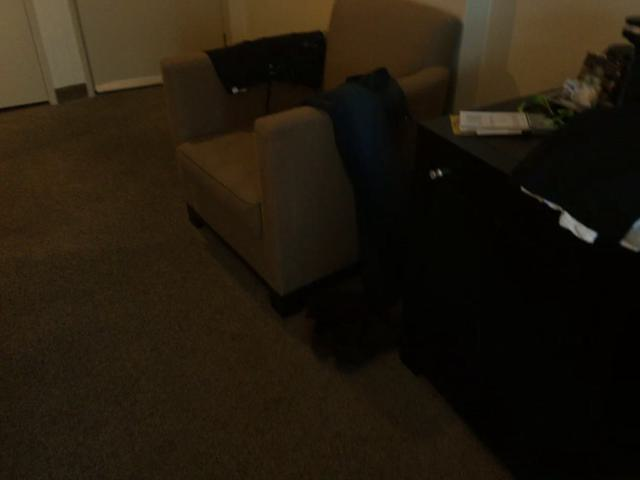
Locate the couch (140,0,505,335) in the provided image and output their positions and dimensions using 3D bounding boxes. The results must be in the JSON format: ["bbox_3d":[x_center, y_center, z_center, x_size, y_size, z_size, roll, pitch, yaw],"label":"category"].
[{"bbox_3d":[-0.040,-0.370,2.090,0.890,0.850,0.850,-15,36,-21],"label":"couch"}]

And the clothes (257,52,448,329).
[{"bbox_3d":[0.080,-0.170,1.870,0.390,0.710,0.440,-15,36,-21],"label":"clothes"}]

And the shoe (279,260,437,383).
[{"bbox_3d":[0.110,0.240,1.850,0.360,0.080,0.380,-15,36,-21],"label":"shoe"}]
